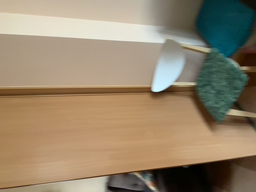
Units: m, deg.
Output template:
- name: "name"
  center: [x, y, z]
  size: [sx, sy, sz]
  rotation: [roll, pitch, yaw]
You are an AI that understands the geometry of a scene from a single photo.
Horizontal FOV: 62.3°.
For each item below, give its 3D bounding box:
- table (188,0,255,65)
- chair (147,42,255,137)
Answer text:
- name: "table"
  center: [0.800, -0.530, 1.590]
  size: [0.520, 0.400, 0.360]
  rotation: [-109, 25, -45]
- name: "chair"
  center: [0.620, -0.060, 1.610]
  size: [0.510, 0.750, 0.450]
  rotation: [-109, 25, -45]
